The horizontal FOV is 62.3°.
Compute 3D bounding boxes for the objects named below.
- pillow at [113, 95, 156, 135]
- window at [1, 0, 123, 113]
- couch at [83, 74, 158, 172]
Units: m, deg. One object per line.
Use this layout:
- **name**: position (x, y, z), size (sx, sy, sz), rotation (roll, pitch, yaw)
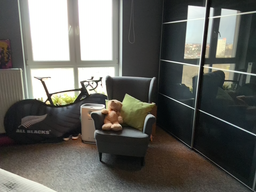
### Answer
- **pillow**: position (0.090, 0.250, 2.850), size (0.410, 0.430, 0.290), rotation (12, -1, 29)
- **window**: position (-0.920, -0.760, 3.320), size (1.700, 1.920, 0.170), rotation (-4, 15, -21)
- **couch**: position (-0.040, 0.280, 2.860), size (0.820, 0.980, 0.930), rotation (3, 14, 7)
